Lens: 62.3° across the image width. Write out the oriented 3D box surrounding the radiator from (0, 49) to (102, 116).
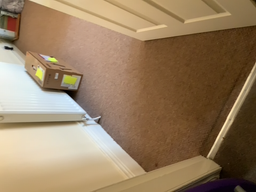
[{"bbox_3d":[-0.960,-0.180,2.070,1.270,0.870,0.130,34,107,40],"label":"radiator"}]
